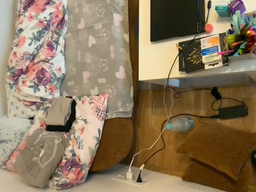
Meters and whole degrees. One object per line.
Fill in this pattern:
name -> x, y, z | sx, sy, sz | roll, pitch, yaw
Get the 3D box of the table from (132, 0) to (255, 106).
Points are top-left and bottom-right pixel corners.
table -> 0.400, -0.310, 1.200 | 0.530, 0.490, 0.670 | -10, 81, 34

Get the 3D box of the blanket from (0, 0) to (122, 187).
blanket -> -0.570, -0.430, 1.510 | 1.180, 0.170, 1.800 | -1, 87, 34
